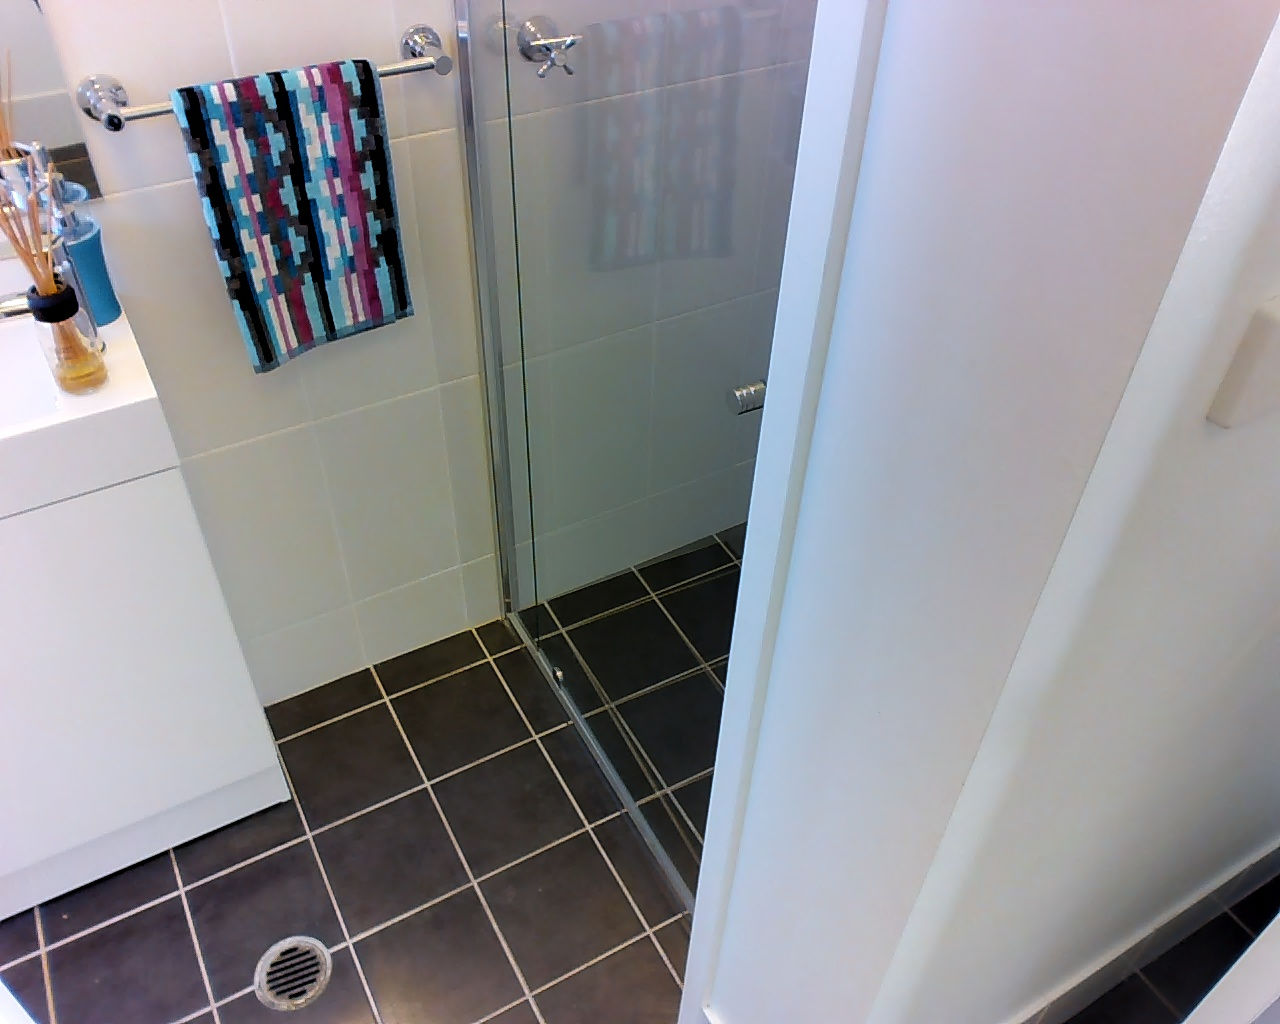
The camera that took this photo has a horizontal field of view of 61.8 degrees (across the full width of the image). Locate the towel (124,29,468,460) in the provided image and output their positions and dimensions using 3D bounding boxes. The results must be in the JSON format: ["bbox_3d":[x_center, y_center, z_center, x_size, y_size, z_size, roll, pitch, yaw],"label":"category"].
[{"bbox_3d":[-0.410,-0.330,1.360,0.310,0.460,0.140,-20,46,-23],"label":"towel"}]
